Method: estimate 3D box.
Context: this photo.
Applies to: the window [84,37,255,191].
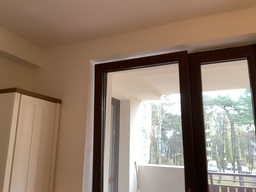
[{"bbox_3d":[0.340,0.770,1.660,1.480,2.360,0.180,-4,-13,21],"label":"window"}]
